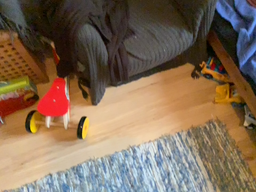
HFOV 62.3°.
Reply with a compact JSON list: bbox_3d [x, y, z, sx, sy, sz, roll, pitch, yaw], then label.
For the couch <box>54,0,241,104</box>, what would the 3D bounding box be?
[{"bbox_3d":[0.020,-0.550,1.270,0.810,0.670,0.760,-23,68,-9],"label":"couch"}]
